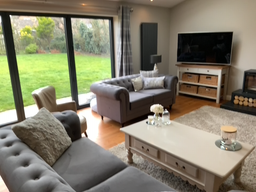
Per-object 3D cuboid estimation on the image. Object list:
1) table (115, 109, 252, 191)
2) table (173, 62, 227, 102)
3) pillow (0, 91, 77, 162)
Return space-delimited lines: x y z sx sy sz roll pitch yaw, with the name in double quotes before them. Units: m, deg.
"table" 0.550 0.630 2.460 0.700 0.510 1.330 -15 21 -41
"table" 1.810 -0.410 5.490 0.470 0.810 1.210 -14 20 -39
"pillow" -0.820 0.280 2.030 0.240 0.380 0.530 -8 34 36
